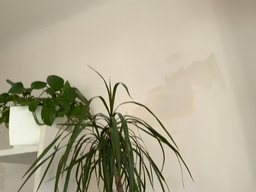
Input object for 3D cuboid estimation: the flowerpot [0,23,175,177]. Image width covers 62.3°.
[{"bbox_3d":[-0.170,0.070,0.650,0.530,0.310,0.250,-14,-26,26],"label":"flowerpot"}]
